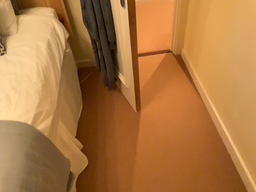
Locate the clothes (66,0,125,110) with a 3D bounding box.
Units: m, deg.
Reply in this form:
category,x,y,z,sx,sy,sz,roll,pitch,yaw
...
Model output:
category,x,y,z,sx,sy,sz,roll,pitch,yaw
clothes,-0.260,-0.570,1.370,0.160,1.490,0.470,-23,50,-15
